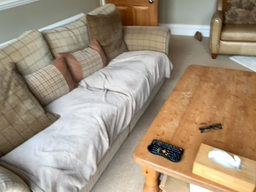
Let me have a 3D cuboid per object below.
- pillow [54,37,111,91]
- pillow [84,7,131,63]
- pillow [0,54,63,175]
[{"bbox_3d":[-0.400,-0.290,1.930,0.210,0.330,0.360,-8,26,39],"label":"pillow"},{"bbox_3d":[-0.190,-0.640,2.210,0.170,0.430,0.470,9,35,30],"label":"pillow"},{"bbox_3d":[-0.790,0.120,1.230,0.210,0.550,0.530,-41,5,45],"label":"pillow"}]
